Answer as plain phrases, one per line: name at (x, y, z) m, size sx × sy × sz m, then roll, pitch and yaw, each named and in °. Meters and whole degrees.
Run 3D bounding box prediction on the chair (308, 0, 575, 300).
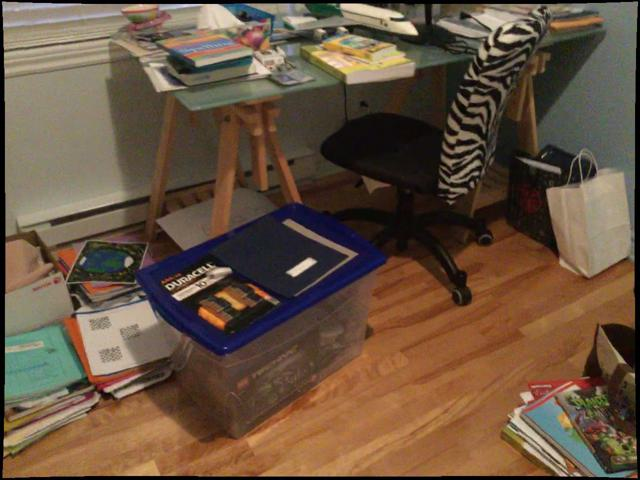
chair at (0.350, -0.360, 1.910) m, size 0.620 × 0.831 × 0.450 m, roll 25°, pitch 42°, yaw 32°
